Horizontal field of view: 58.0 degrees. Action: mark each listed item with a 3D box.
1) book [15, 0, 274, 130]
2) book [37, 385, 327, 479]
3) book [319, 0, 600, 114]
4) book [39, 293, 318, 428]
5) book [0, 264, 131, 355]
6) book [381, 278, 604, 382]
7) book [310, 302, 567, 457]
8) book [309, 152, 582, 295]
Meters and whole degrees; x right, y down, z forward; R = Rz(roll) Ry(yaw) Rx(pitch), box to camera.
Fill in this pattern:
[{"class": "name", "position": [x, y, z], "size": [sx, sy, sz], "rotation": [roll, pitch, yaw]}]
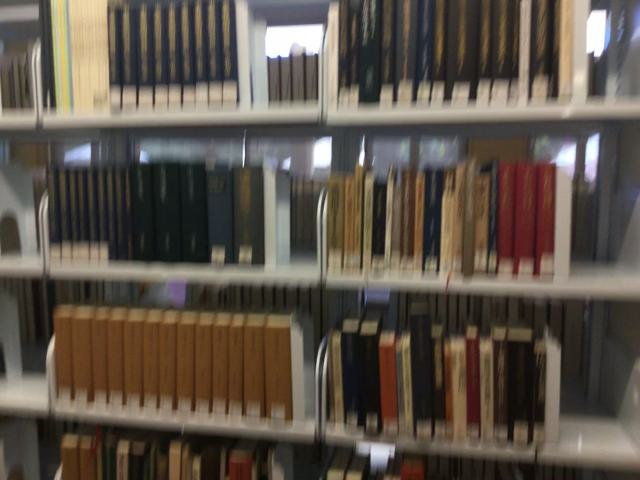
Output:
[{"class": "book", "position": [-0.360, -0.400, 1.240], "size": [0.480, 0.300, 0.220], "rotation": [1, 5, 10]}, {"class": "book", "position": [-0.300, 0.590, 1.340], "size": [0.600, 0.400, 0.240], "rotation": [1, 5, 10]}, {"class": "book", "position": [0.240, -0.360, 1.050], "size": [0.480, 0.240, 0.070], "rotation": [1, 5, 9]}, {"class": "book", "position": [-0.300, 0.250, 1.270], "size": [0.570, 0.220, 0.170], "rotation": [1, 5, 10]}, {"class": "book", "position": [-0.830, 0.200, 1.720], "size": [0.530, 0.240, 0.070], "rotation": [1, 5, 10]}, {"class": "book", "position": [0.440, 0.230, 1.540], "size": [0.540, 0.220, 0.150], "rotation": [1, 5, 10]}, {"class": "book", "position": [0.230, 0.270, 1.190], "size": [0.470, 0.230, 0.200], "rotation": [1, 5, 10]}, {"class": "book", "position": [0.230, -0.040, 1.130], "size": [0.480, 0.250, 0.160], "rotation": [1, 5, 10]}]
